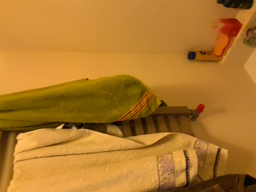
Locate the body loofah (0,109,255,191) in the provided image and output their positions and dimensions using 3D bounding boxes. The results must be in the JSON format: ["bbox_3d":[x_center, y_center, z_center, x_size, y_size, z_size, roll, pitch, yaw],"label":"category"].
[{"bbox_3d":[0.000,0.210,0.720,0.200,0.850,0.250,104,161,-49],"label":"body loofah"}]

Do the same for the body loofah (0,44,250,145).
[{"bbox_3d":[-0.170,0.000,0.830,0.270,1.180,0.250,104,161,-49],"label":"body loofah"}]
